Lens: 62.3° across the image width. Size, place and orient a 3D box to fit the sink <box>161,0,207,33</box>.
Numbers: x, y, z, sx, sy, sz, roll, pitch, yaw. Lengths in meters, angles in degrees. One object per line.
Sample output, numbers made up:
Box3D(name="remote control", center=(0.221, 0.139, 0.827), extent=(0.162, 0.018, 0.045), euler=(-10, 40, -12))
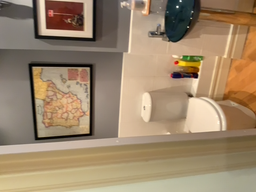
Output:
Box3D(name="sink", center=(0.430, -0.690, 1.640), extent=(0.250, 0.230, 0.380), euler=(-131, 42, -68))
